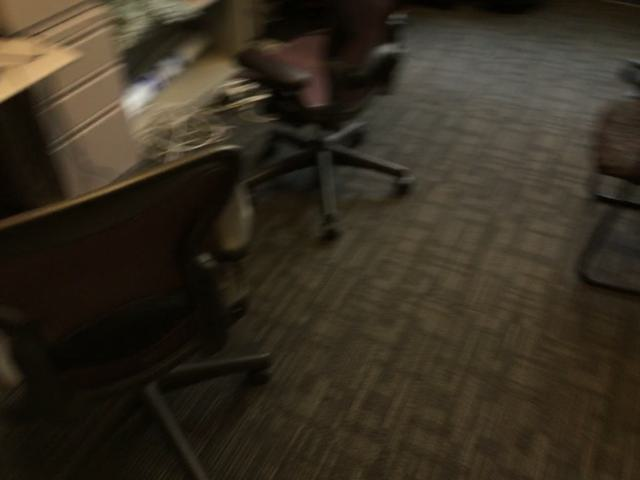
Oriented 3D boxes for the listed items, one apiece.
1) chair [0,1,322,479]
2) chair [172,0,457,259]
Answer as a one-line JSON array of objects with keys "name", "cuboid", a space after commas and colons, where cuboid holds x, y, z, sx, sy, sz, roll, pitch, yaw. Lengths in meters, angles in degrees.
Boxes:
[{"name": "chair", "cuboid": [-0.460, 0.120, 1.290, 0.690, 0.960, 0.630, -24, 47, -25]}, {"name": "chair", "cuboid": [0.010, -0.580, 2.010, 0.680, 0.940, 0.640, 20, 46, 21]}]
